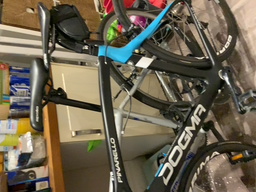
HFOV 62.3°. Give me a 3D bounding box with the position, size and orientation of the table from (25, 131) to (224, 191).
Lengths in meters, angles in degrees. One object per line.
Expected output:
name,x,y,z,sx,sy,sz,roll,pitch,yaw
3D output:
table,-0.010,0.600,1.160,0.600,0.900,0.560,-46,51,44

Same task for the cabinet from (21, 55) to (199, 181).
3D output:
cabinet,-0.140,0.170,1.380,0.620,0.900,0.430,-46,51,44
